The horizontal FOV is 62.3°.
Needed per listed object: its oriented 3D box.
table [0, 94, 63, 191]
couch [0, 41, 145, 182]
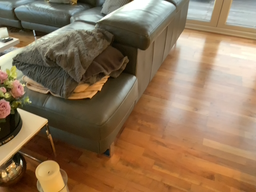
[{"bbox_3d":[-0.640,0.300,1.090,0.380,0.420,0.380,16,39,18],"label":"table"},{"bbox_3d":[-0.480,0.030,1.430,1.030,0.450,0.540,16,39,18],"label":"couch"}]
